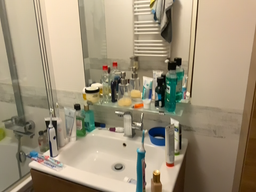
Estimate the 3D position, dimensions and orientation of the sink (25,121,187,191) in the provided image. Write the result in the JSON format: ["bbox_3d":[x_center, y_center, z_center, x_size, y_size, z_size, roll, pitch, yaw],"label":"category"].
[{"bbox_3d":[-0.070,0.310,0.990,0.600,0.130,0.440,7,20,22],"label":"sink"}]
